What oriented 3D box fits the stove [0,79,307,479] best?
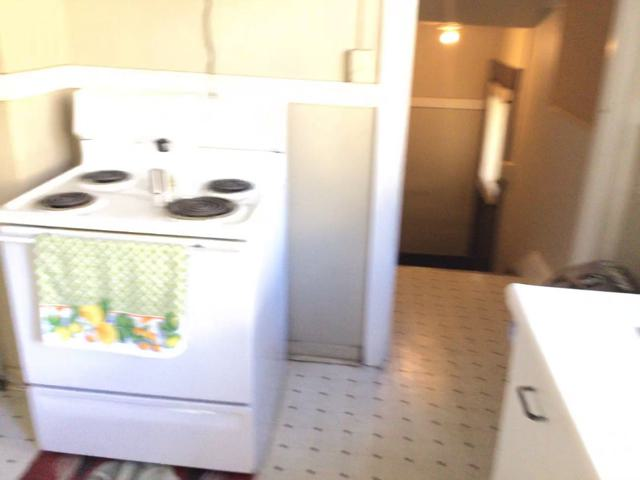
[{"bbox_3d":[-0.540,0.100,2.080,0.830,1.190,0.800,6,19,1],"label":"stove"}]

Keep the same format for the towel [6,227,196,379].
[{"bbox_3d":[-0.640,0.190,1.720,0.520,0.400,0.080,6,19,1],"label":"towel"}]
